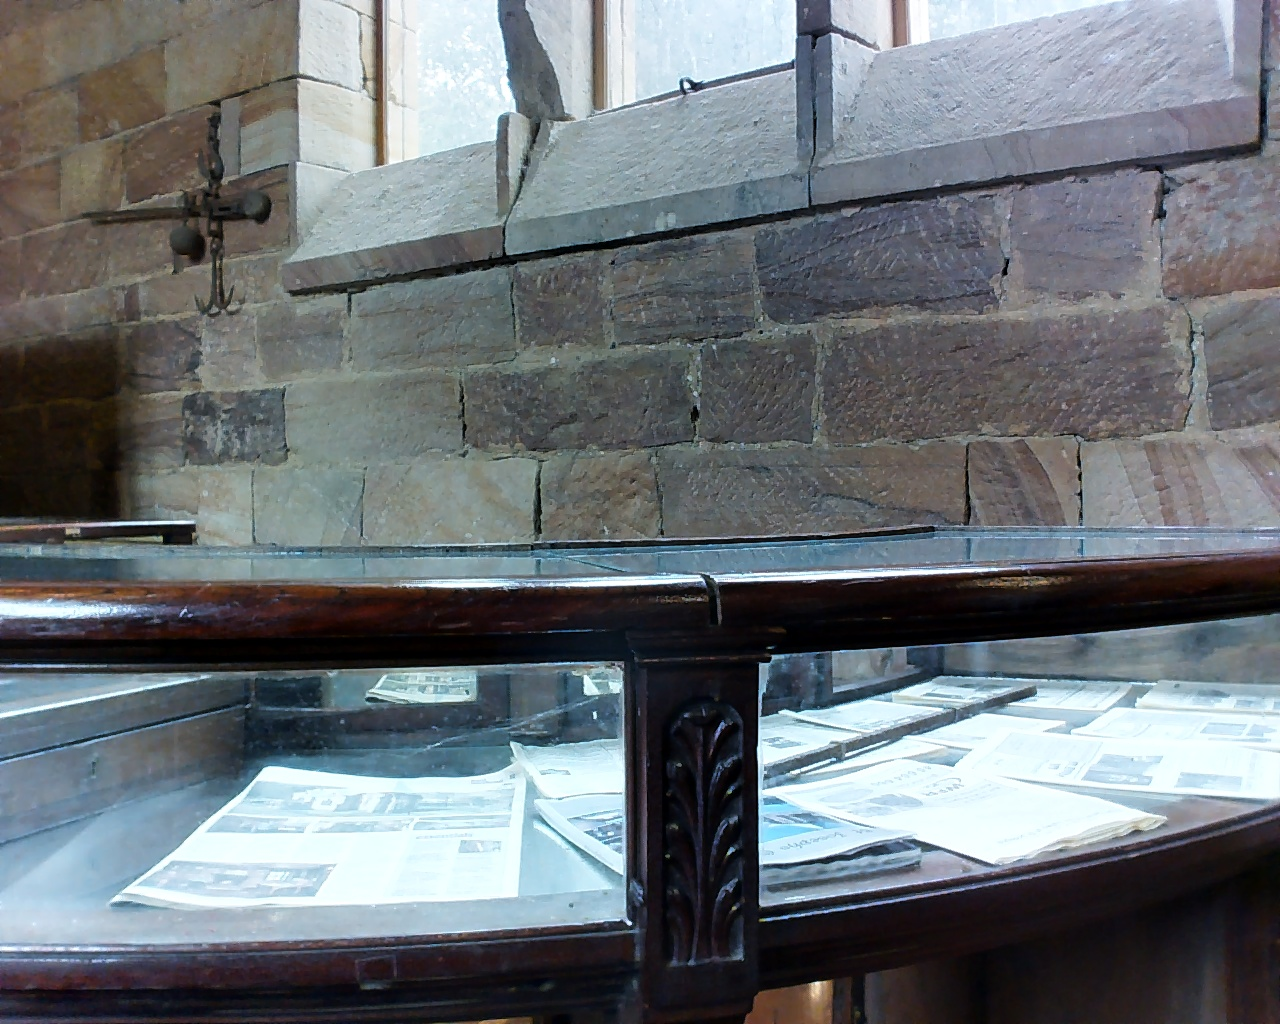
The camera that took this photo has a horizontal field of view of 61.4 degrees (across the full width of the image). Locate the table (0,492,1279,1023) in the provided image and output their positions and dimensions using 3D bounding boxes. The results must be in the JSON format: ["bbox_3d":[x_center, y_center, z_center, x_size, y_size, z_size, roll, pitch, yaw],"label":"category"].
[{"bbox_3d":[-0.870,0.560,1.720,3.579,1.141,2.000,0,1,32],"label":"table"}]
